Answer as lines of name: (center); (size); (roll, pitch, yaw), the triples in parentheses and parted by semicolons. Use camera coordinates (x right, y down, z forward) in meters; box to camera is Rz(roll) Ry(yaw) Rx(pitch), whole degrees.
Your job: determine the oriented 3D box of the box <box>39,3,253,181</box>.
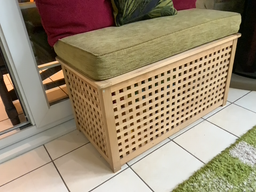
box: (0.150, -0.140, 1.290); (1.060, 0.630, 0.510); (-22, 35, -29)
